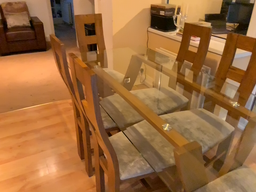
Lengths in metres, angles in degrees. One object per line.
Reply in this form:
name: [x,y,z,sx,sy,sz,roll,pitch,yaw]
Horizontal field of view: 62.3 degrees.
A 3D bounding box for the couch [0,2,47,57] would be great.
couch: [-2.410,-1.480,4.580,0.950,0.920,0.940,-15,32,-26]
